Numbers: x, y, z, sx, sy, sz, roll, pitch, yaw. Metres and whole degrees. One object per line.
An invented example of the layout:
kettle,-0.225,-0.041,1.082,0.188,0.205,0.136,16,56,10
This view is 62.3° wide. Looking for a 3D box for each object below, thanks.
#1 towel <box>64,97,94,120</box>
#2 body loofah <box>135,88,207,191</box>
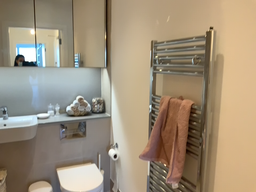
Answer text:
towel,-0.530,0.130,2.290,0.270,0.190,0.190,-3,10,-26
body loofah,0.220,0.230,1.230,0.200,0.510,0.380,-3,9,-24
